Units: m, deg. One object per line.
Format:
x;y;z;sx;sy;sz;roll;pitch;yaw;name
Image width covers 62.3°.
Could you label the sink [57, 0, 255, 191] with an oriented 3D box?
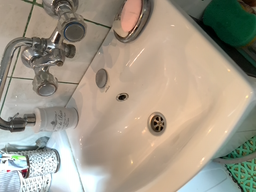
0.030;0.050;0.540;0.510;0.160;0.380;-51;52;33;sink
